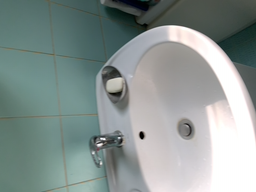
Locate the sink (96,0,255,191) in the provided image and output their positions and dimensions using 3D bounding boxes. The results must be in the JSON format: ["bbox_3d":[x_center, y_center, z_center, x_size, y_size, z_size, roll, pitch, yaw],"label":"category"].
[{"bbox_3d":[0.110,0.080,0.620,0.410,0.170,0.530,-20,73,49],"label":"sink"}]
